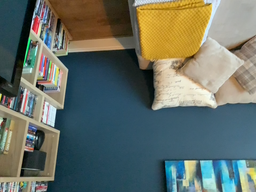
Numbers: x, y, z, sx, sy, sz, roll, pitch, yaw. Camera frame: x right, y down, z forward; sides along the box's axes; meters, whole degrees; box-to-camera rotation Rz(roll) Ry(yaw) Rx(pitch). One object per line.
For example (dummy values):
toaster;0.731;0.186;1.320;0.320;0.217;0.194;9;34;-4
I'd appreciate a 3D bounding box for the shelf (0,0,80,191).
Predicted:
shelf;-0.830;0.040;1.820;0.340;1.770;0.950;-3;160;9
